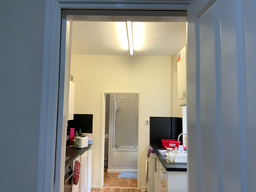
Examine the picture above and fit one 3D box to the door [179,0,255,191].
[{"bbox_3d":[0.350,0.440,0.790,0.070,1.970,0.770,2,-4,-5],"label":"door"}]
